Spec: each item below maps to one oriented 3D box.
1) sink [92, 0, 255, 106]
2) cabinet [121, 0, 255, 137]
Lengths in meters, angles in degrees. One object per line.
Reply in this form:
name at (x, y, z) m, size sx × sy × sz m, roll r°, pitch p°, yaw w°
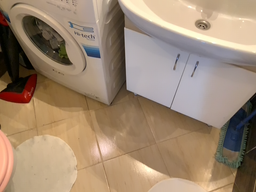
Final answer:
sink at (0.280, -0.300, 0.750) m, size 0.640 × 0.210 × 0.460 m, roll 23°, pitch 63°, yaw 13°
cabinet at (0.310, -0.170, 1.110) m, size 0.590 × 0.730 × 0.320 m, roll 23°, pitch 63°, yaw 13°
